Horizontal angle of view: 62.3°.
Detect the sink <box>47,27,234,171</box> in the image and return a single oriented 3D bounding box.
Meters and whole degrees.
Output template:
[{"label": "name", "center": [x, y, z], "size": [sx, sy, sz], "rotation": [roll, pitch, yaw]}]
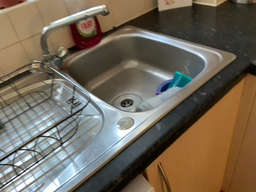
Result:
[{"label": "sink", "center": [0.020, -0.060, 0.770], "size": [0.400, 0.150, 0.510], "rotation": [-35, 44, -26]}]
